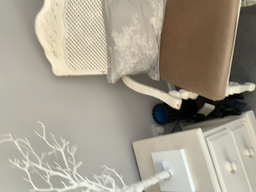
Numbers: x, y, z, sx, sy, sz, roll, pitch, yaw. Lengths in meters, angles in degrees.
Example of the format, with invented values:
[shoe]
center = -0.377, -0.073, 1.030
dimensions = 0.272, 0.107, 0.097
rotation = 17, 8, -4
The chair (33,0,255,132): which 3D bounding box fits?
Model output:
[chair]
center = 0.150, -0.280, 1.090
dimensions = 0.730, 0.980, 0.530
rotation = 17, 107, 45
